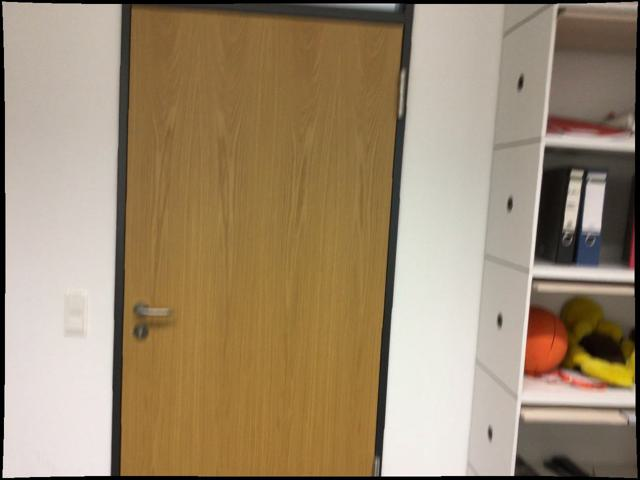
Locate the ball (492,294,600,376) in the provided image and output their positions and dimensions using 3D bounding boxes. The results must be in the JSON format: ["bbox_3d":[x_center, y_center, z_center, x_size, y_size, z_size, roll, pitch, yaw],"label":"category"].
[{"bbox_3d":[0.769,0.320,2.000,0.250,0.210,0.260,0,7,-3],"label":"ball"}]

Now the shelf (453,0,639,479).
[{"bbox_3d":[0.999,0.080,1.930,0.909,2.502,0.520,0,7,-3],"label":"shelf"}]
